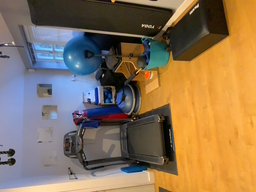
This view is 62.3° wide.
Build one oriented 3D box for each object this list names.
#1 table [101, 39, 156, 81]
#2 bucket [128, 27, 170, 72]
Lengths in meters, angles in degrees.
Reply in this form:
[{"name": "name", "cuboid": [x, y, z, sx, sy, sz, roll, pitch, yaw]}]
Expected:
[{"name": "table", "cuboid": [-0.010, -0.590, 3.700, 0.630, 0.780, 0.520, 156, 113, -70]}, {"name": "bucket", "cuboid": [0.310, -0.690, 3.250, 0.390, 0.500, 0.540, 159, 110, -71]}]
